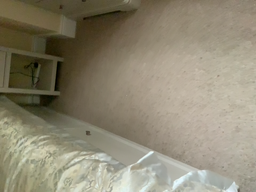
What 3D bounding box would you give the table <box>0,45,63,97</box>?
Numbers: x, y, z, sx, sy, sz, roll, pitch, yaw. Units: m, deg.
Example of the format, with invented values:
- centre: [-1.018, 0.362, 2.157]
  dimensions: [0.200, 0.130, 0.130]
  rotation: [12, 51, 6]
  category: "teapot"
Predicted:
- centre: [-0.990, -0.220, 1.870]
  dimensions: [0.450, 0.630, 0.370]
  rotation: [12, 96, 43]
  category: "table"
